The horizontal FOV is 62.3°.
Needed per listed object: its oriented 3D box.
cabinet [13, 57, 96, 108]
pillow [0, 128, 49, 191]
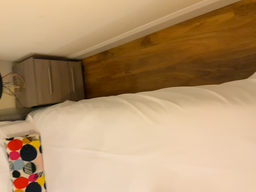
[{"bbox_3d":[-0.700,-0.110,2.030,0.500,0.540,0.380,-6,89,41],"label":"cabinet"},{"bbox_3d":[-0.820,0.600,1.710,0.160,0.310,0.630,170,96,-73],"label":"pillow"}]
